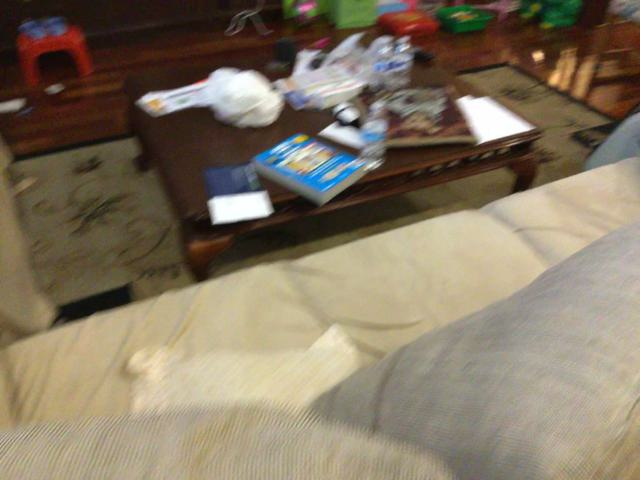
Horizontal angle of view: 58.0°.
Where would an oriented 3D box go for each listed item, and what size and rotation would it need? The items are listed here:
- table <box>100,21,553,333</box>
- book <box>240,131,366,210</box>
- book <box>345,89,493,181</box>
[{"bbox_3d":[-0.040,-0.360,2.140,1.220,0.370,1.090,-18,43,-20],"label":"table"},{"bbox_3d":[-0.050,-0.210,1.680,0.310,0.060,0.190,24,45,26],"label":"book"},{"bbox_3d":[0.290,-0.340,1.810,0.350,0.070,0.400,-6,40,-7],"label":"book"}]
